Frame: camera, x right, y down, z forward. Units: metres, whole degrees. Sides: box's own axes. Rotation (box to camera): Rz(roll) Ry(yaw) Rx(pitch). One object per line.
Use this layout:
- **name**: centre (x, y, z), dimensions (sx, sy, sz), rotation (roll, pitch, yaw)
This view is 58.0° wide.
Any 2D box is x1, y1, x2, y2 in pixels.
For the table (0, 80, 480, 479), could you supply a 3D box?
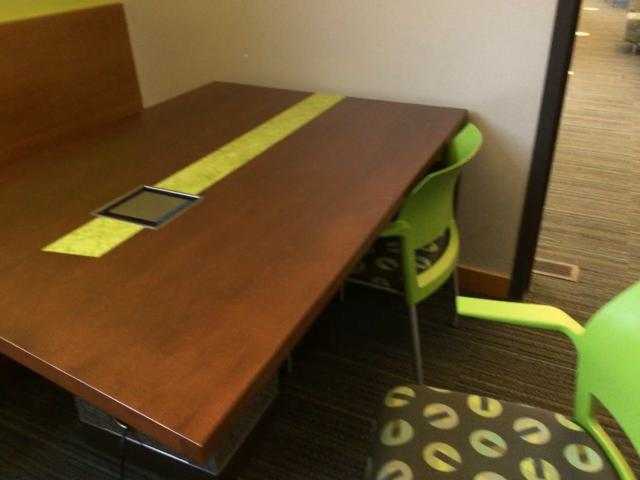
- **table**: centre (-0.260, 0.110, 1.750), dimensions (1.080, 0.800, 1.610), rotation (11, 29, 22)

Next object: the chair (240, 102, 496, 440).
- **chair**: centre (0.180, 0.040, 1.870), dimensions (0.550, 0.780, 0.680), rotation (11, 29, 22)
